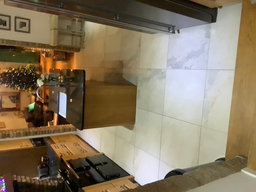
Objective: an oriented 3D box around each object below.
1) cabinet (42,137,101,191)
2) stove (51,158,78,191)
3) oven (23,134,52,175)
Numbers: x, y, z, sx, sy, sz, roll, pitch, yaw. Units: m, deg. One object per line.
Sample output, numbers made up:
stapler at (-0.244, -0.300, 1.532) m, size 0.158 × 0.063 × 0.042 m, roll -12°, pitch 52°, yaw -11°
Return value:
cabinet at (-1.200, 1.380, 4.400) m, size 0.970 × 0.900 × 0.690 m, roll 15°, pitch 103°, yaw 55°
stove at (-1.020, 1.500, 3.320) m, size 1.030 × 0.080 × 0.670 m, roll 15°, pitch 103°, yaw 55°
oven at (-2.040, 1.280, 4.760) m, size 0.570 × 0.470 × 0.660 m, roll 15°, pitch 103°, yaw 55°
